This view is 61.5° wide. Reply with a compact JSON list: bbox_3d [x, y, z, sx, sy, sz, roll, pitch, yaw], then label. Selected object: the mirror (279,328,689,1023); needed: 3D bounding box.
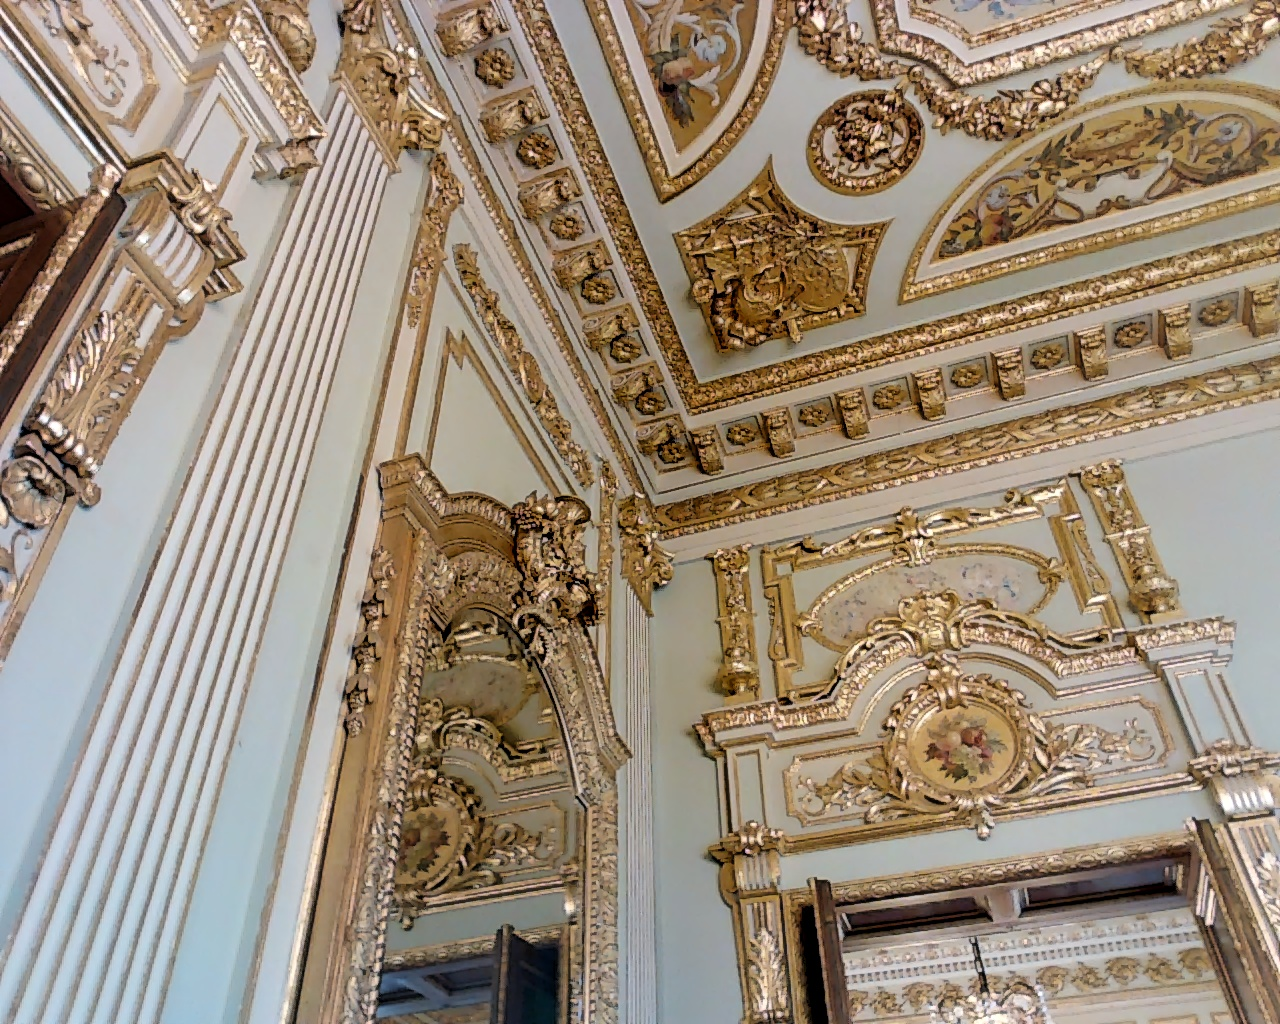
[{"bbox_3d":[-0.260,1.131,2.980,0.270,2.961,1.790,-13,-44,15],"label":"mirror"}]
